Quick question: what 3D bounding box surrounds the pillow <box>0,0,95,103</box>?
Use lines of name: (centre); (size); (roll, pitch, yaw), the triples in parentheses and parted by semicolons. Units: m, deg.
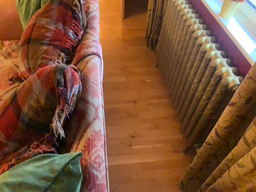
pillow: (-0.420, -0.350, 1.200); (0.430, 0.560, 0.520); (-3, 48, -7)
